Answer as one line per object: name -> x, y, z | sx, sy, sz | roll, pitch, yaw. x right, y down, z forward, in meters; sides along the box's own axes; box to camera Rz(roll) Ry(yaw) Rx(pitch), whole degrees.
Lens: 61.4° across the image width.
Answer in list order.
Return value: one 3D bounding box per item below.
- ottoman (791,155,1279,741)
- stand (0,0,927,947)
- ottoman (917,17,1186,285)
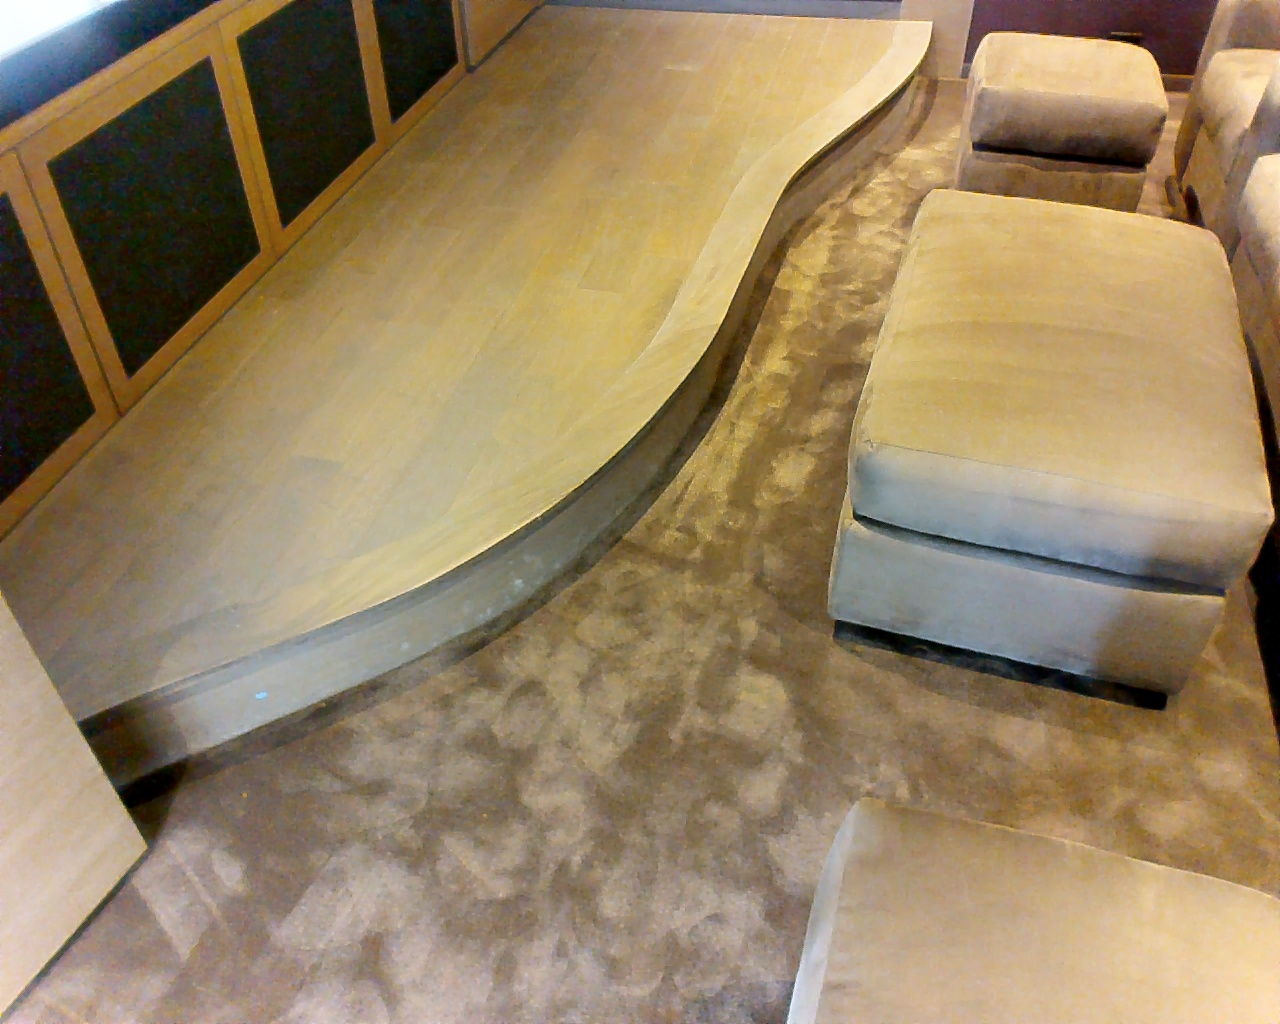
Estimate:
ottoman -> 0.790, -0.210, 2.180 | 0.730, 0.520, 1.090 | 11, 43, 13
stand -> -0.050, -0.710, 2.960 | 1.590, 0.230, 3.580 | 7, 42, 9
ottoman -> 1.150, -1.060, 3.130 | 0.580, 0.510, 0.580 | 8, 43, 10
